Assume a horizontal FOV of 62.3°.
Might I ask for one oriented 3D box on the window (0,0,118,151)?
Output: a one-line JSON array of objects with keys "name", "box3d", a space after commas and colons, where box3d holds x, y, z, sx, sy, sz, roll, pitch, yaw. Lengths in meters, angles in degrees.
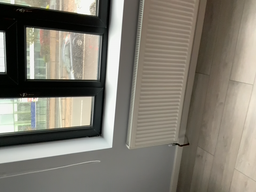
[{"name": "window", "box3d": [-0.660, -0.310, 1.660, 0.160, 1.110, 1.450, 29, 117, 59]}]
